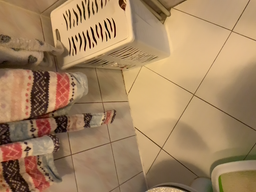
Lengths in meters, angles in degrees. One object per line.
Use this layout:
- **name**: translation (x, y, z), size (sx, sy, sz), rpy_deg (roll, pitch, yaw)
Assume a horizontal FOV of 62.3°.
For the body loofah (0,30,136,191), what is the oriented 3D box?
- **body loofah**: translation (-0.390, 0.060, 0.420), size (0.220, 1.120, 0.370), rpy_deg (-15, 82, 31)
